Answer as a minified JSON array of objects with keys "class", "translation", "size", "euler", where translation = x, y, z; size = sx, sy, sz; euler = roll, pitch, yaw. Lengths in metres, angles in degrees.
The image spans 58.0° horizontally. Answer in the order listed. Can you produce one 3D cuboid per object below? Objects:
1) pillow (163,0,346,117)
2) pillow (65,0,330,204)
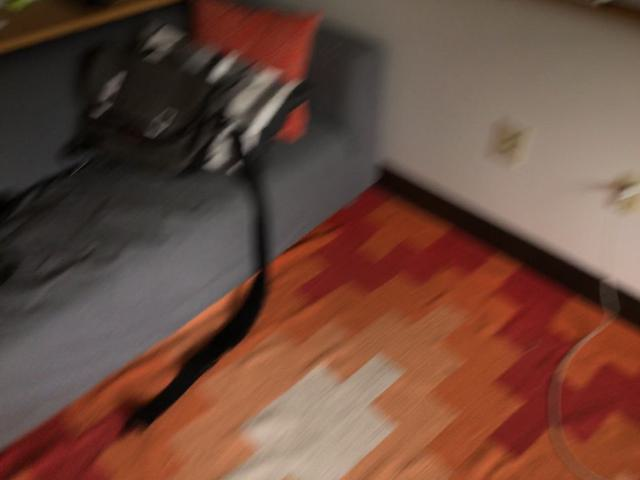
[{"class":"pillow","translation":[-0.220,-0.640,1.830],"size":[0.280,0.230,0.550],"euler":[-29,50,-33]},{"class":"pillow","translation":[-0.360,-0.450,1.720],"size":[0.480,0.280,0.600],"euler":[-29,50,-33]}]
